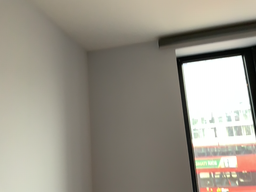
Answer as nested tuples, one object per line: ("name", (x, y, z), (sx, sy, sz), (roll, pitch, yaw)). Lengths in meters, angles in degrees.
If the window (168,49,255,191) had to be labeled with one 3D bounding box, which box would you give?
("window", (0.900, 0.400, 1.540), (1.050, 1.490, 0.090), (-7, -10, 13))
